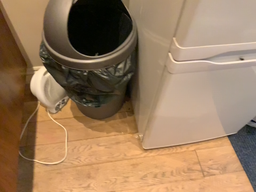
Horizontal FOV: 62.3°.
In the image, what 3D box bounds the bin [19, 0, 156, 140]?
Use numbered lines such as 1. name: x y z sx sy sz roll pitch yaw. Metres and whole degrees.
1. bin: -0.180 -0.140 1.050 0.420 0.680 0.420 -8 58 -10
